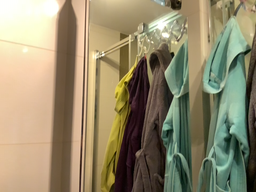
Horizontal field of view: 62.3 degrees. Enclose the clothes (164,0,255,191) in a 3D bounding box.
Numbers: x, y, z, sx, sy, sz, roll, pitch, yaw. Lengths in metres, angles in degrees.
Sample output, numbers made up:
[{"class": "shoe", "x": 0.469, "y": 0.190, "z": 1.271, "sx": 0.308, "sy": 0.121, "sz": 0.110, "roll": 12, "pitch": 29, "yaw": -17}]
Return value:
[{"class": "clothes", "x": 0.350, "y": 0.270, "z": 0.840, "sx": 0.290, "sy": 1.310, "sz": 0.280, "roll": 6, "pitch": -9, "yaw": -39}]
